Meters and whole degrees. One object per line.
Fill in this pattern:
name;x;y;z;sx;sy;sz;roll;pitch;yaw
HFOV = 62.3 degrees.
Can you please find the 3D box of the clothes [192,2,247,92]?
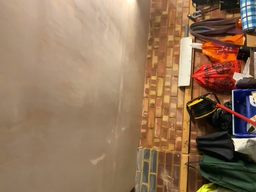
clothes;0.910;-0.490;2.120;0.120;0.470;0.870;31;-117;-72
